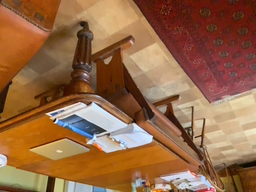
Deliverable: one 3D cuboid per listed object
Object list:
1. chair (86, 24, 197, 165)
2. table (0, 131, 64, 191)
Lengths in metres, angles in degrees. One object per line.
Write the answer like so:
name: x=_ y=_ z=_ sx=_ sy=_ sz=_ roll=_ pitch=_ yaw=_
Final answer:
chair: x=0.160 y=0.070 z=1.770 sx=0.390 sy=0.730 sz=1.000 roll=-20 pitch=143 yaw=25
table: x=-1.650 y=1.120 z=3.300 sx=0.570 sy=0.720 sz=1.090 roll=-20 pitch=143 yaw=25
